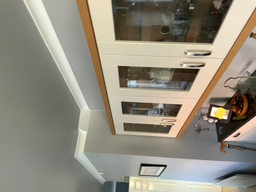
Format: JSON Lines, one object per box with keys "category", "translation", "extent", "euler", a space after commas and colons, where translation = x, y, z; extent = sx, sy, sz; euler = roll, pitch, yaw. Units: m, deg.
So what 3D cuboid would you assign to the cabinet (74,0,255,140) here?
{"category": "cabinet", "translation": [0.210, -0.140, 1.730], "extent": [2.050, 0.850, 0.360], "euler": [90, -176, -62]}
